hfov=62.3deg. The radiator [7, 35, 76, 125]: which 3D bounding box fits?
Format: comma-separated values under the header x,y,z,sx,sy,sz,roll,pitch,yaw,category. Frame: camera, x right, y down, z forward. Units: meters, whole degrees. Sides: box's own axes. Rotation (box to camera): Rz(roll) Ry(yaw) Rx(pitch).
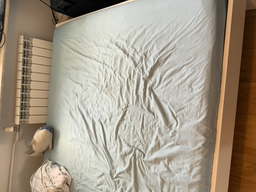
x,y,z,sx,sy,sz,roll,pitch,yaw,category
-0.840,-0.130,2.120,0.110,0.570,0.800,12,96,43,radiator
